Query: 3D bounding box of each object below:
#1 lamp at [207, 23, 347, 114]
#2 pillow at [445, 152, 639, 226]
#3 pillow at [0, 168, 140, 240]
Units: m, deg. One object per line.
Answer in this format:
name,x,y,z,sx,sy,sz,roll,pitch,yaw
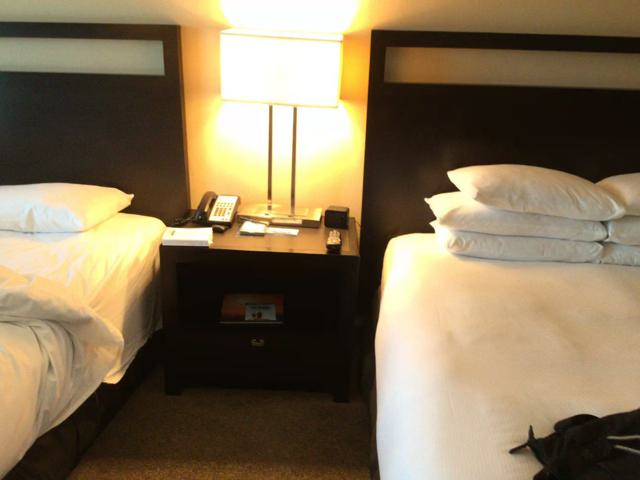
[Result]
lamp,-0.160,-0.680,2.290,0.510,0.300,0.270,4,18,2
pillow,0.830,-0.210,2.230,0.610,0.160,0.430,4,18,2
pillow,-1.160,-0.160,2.370,0.700,0.160,0.420,4,18,2
